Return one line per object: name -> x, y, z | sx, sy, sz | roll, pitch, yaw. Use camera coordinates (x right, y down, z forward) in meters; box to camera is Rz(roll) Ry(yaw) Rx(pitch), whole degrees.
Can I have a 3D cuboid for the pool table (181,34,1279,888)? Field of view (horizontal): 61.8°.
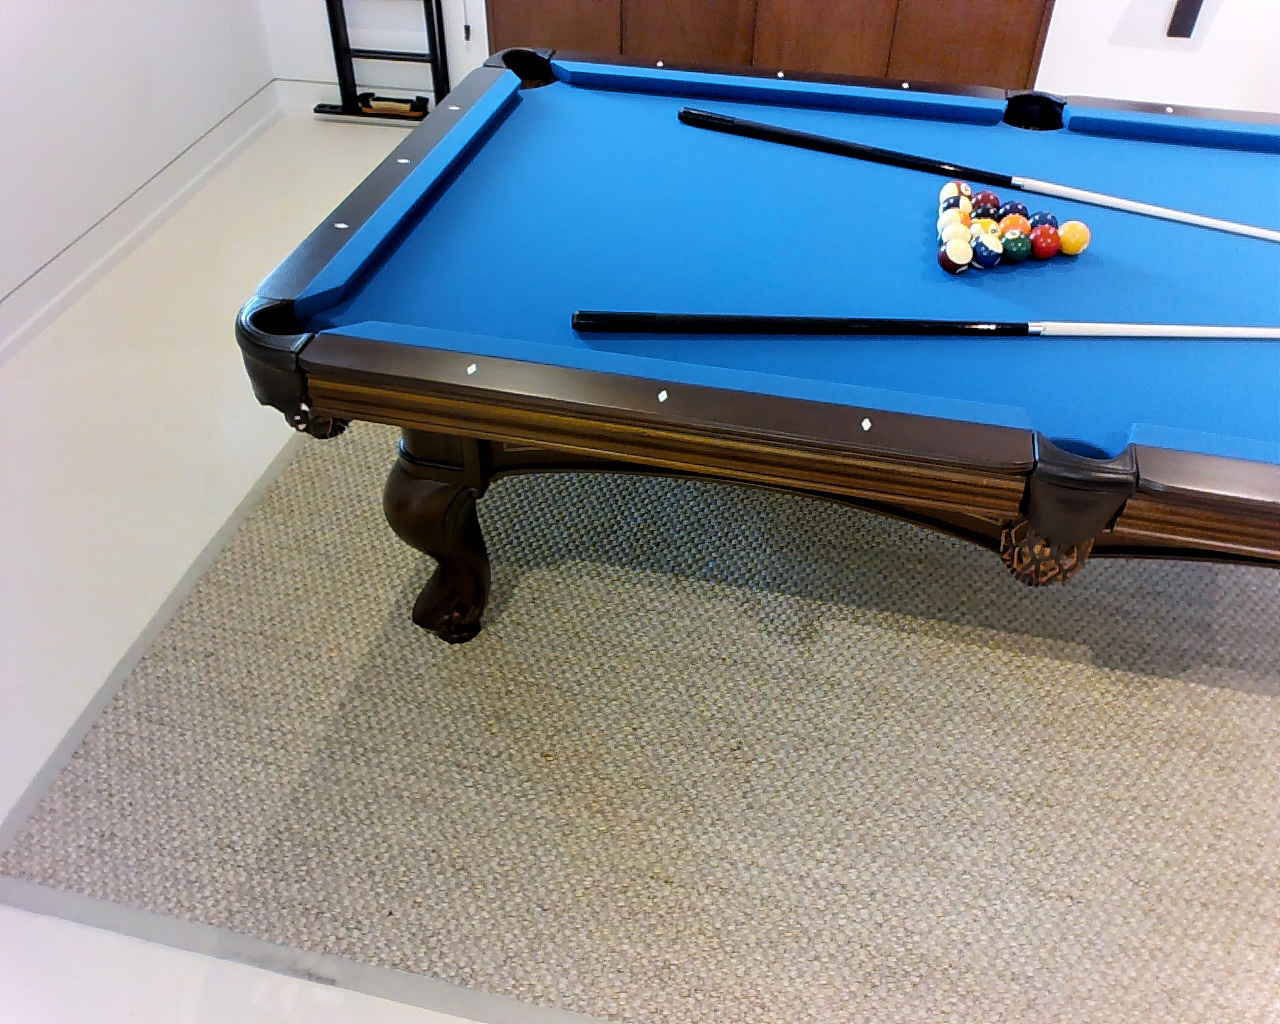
pool table -> 0.730, -0.200, 2.110 | 2.540, 0.830, 1.380 | 8, 42, 10
